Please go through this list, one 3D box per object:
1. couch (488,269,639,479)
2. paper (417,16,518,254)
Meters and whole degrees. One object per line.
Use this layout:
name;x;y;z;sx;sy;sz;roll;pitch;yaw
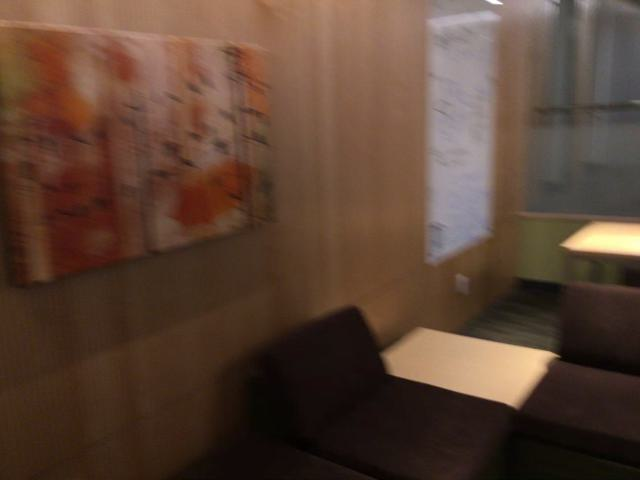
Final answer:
couch;1.300;0.530;2.010;1.130;0.580;0.900;3;13;35
paper;0.940;-0.620;3.540;0.080;1.290;0.990;2;8;44
